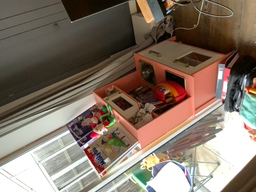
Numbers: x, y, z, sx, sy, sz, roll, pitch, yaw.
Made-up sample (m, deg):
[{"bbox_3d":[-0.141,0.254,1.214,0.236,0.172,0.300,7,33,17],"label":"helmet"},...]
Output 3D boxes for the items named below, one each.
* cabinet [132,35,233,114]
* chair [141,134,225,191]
[{"bbox_3d":[0.460,-0.240,1.900,0.680,0.490,0.360,34,145,49],"label":"cabinet"},{"bbox_3d":[0.730,1.100,2.960,0.590,0.890,0.530,47,153,32],"label":"chair"}]
